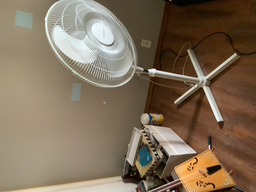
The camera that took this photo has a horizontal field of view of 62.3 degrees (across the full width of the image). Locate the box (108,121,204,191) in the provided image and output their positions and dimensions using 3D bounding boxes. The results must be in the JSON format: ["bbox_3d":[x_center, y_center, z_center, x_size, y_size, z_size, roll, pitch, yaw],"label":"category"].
[{"bbox_3d":[0.190,0.650,1.880,0.720,0.380,0.660,24,107,58],"label":"box"}]
